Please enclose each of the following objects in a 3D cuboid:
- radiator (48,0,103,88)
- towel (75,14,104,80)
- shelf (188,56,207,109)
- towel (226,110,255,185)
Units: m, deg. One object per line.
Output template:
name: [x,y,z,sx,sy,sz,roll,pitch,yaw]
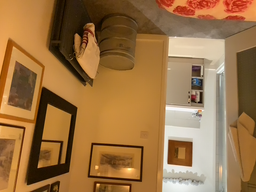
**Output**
radiator: [-0.480,-0.600,2.270,0.200,0.740,1.130,5,167,2]
towel: [-0.370,-0.470,2.180,0.130,0.440,0.590,5,167,2]
shelf: [1.130,-0.220,3.450,0.240,0.810,0.230,4,167,6]
towel: [1.190,0.520,2.190,0.210,0.700,0.240,15,164,-37]
